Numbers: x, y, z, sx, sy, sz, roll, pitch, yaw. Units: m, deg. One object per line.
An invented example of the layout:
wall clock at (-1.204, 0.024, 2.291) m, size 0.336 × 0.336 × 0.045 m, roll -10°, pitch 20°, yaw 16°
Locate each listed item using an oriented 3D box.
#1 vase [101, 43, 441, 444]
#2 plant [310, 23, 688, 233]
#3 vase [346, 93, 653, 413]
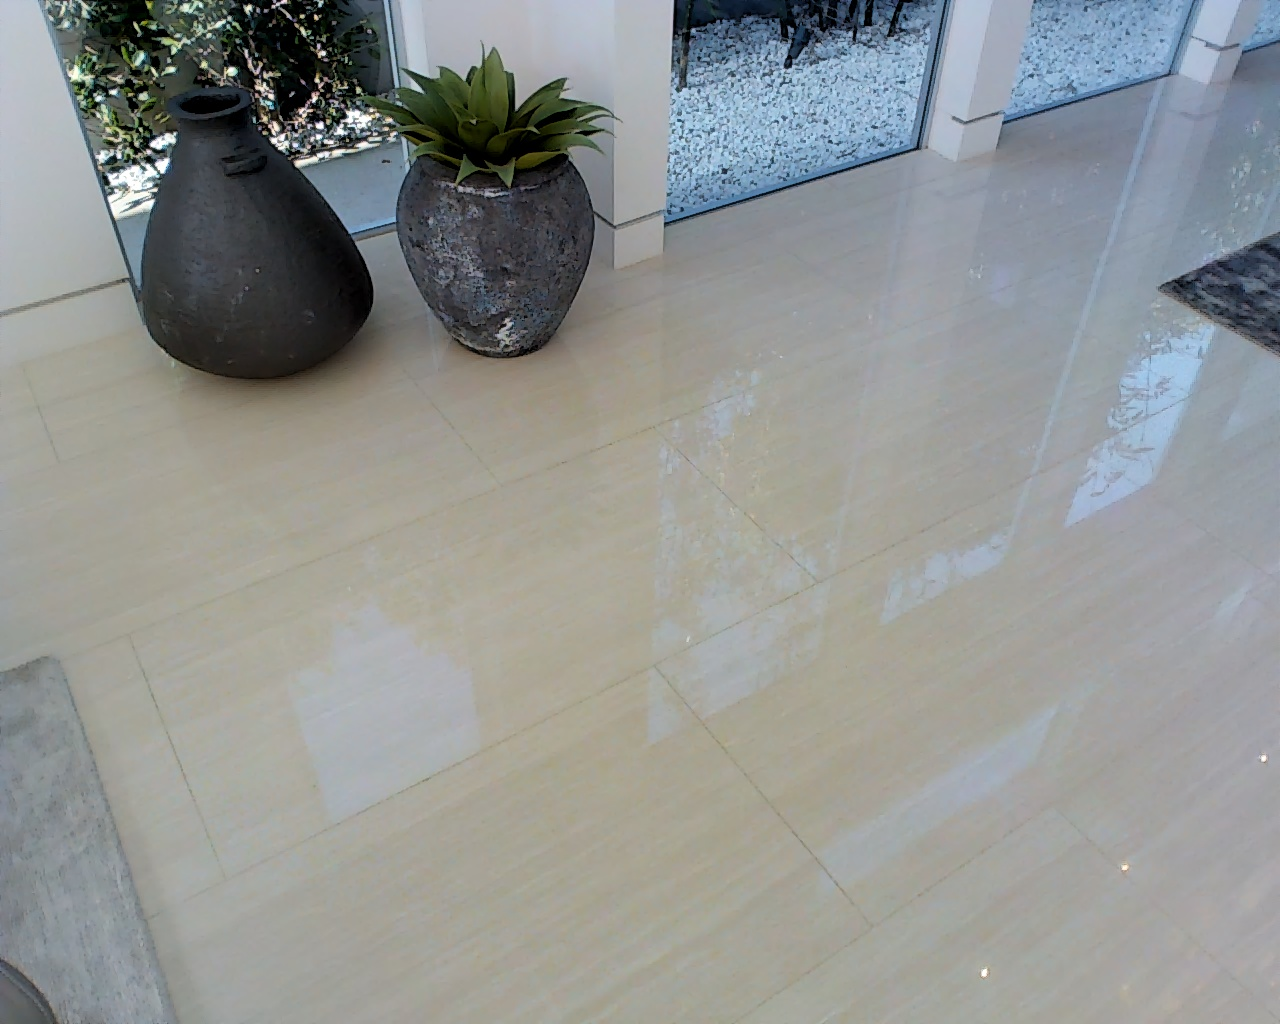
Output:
vase at (-0.870, -0.660, 2.610) m, size 0.510 × 0.670 × 0.560 m, roll -22°, pitch 47°, yaw -23°
plant at (-0.310, -0.920, 2.520) m, size 0.690 × 0.180 × 0.520 m, roll 18°, pitch 45°, yaw 18°
vase at (-0.320, -0.670, 2.730) m, size 0.520 × 0.500 × 0.560 m, roll 17°, pitch 45°, yaw 17°
